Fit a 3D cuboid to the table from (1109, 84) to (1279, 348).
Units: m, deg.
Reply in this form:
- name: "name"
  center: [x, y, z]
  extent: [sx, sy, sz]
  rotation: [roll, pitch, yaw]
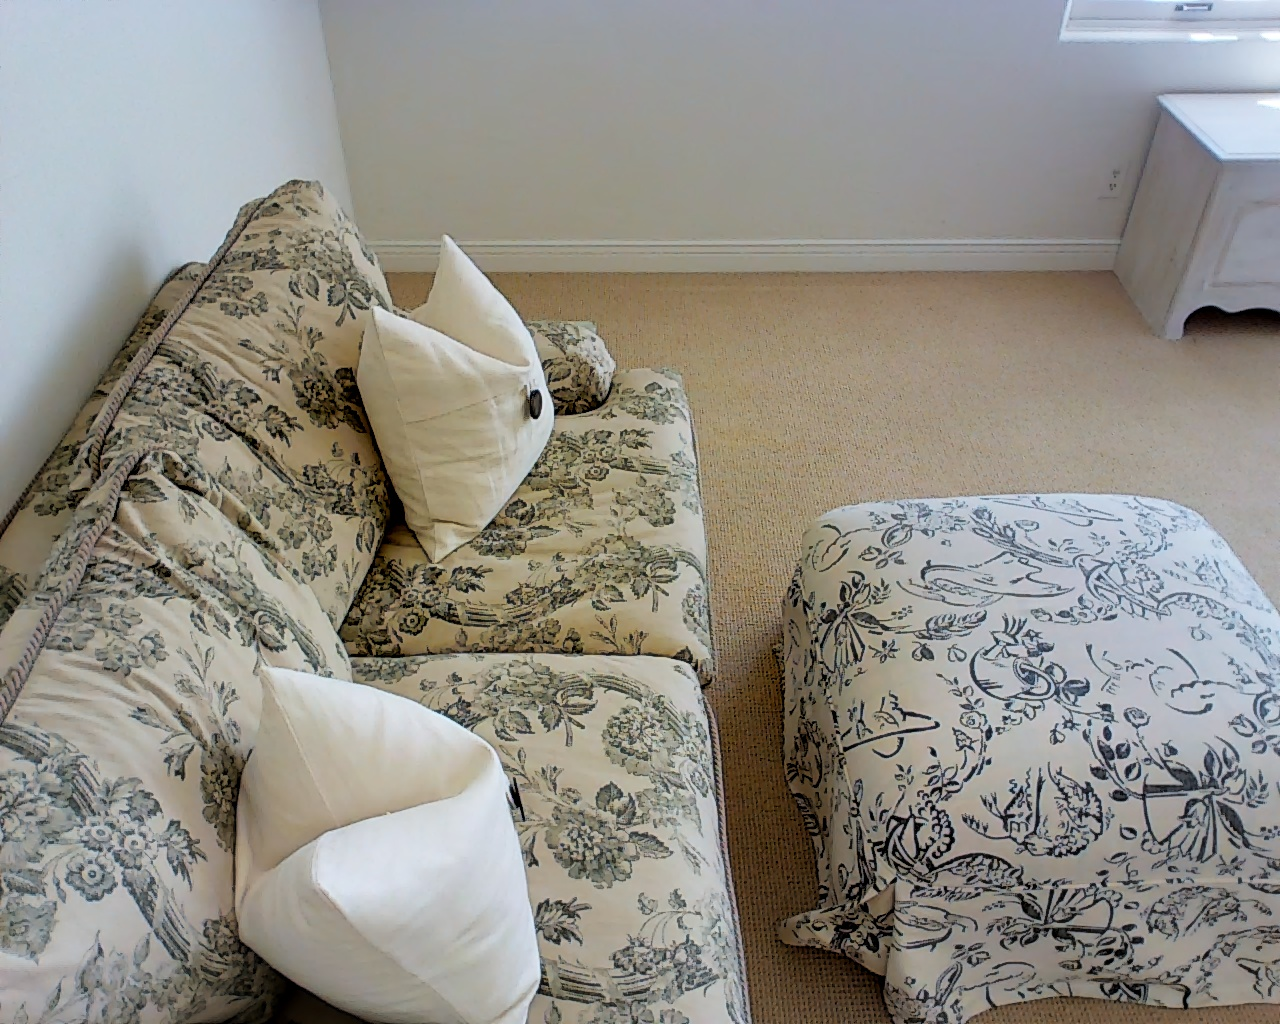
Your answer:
- name: "table"
  center: [2.050, -0.840, 3.050]
  extent: [1.120, 0.570, 0.480]
  rotation: [0, 41, 0]

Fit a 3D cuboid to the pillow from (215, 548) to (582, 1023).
- name: "pillow"
  center: [-0.250, 0.330, 1.160]
  extent: [0.290, 0.360, 0.410]
  rotation: [-9, 42, -10]

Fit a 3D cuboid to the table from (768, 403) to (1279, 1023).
- name: "table"
  center: [0.700, 0.300, 1.790]
  extent: [0.850, 0.490, 0.970]
  rotation: [0, 41, 0]

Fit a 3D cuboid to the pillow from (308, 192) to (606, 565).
- name: "pillow"
  center: [-0.270, -0.230, 1.780]
  extent: [0.270, 0.410, 0.420]
  rotation: [15, 43, 17]
